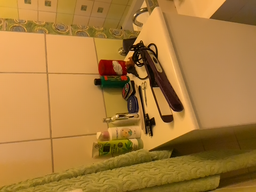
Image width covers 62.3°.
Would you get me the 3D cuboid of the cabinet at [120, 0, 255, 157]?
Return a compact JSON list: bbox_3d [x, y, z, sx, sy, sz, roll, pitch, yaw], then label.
[{"bbox_3d":[0.480,-0.050,0.910,0.340,0.910,0.430,131,133,-57],"label":"cabinet"}]
